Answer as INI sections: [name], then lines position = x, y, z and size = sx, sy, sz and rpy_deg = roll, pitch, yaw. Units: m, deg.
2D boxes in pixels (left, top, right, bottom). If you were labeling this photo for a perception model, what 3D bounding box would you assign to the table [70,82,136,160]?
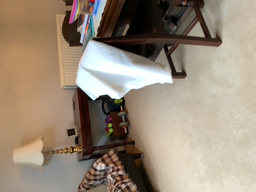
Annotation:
[table]
position = -0.380, 0.320, 2.900
size = 0.460, 0.670, 0.900
rpy_deg = 128, 135, -56
